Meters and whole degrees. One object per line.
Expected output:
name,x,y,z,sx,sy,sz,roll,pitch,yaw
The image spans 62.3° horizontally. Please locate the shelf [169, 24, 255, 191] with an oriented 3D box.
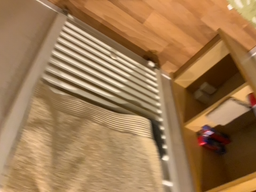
shelf,0.520,0.160,1.020,0.300,1.060,0.420,26,131,-25
